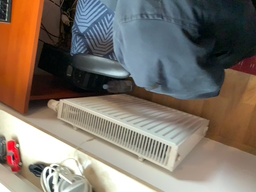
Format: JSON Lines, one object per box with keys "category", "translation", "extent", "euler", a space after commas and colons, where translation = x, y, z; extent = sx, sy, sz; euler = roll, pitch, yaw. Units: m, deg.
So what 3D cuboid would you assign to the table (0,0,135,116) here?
{"category": "table", "translation": [-0.480, -0.600, 1.410], "extent": [0.710, 0.790, 1.190], "euler": [17, 102, 27]}
